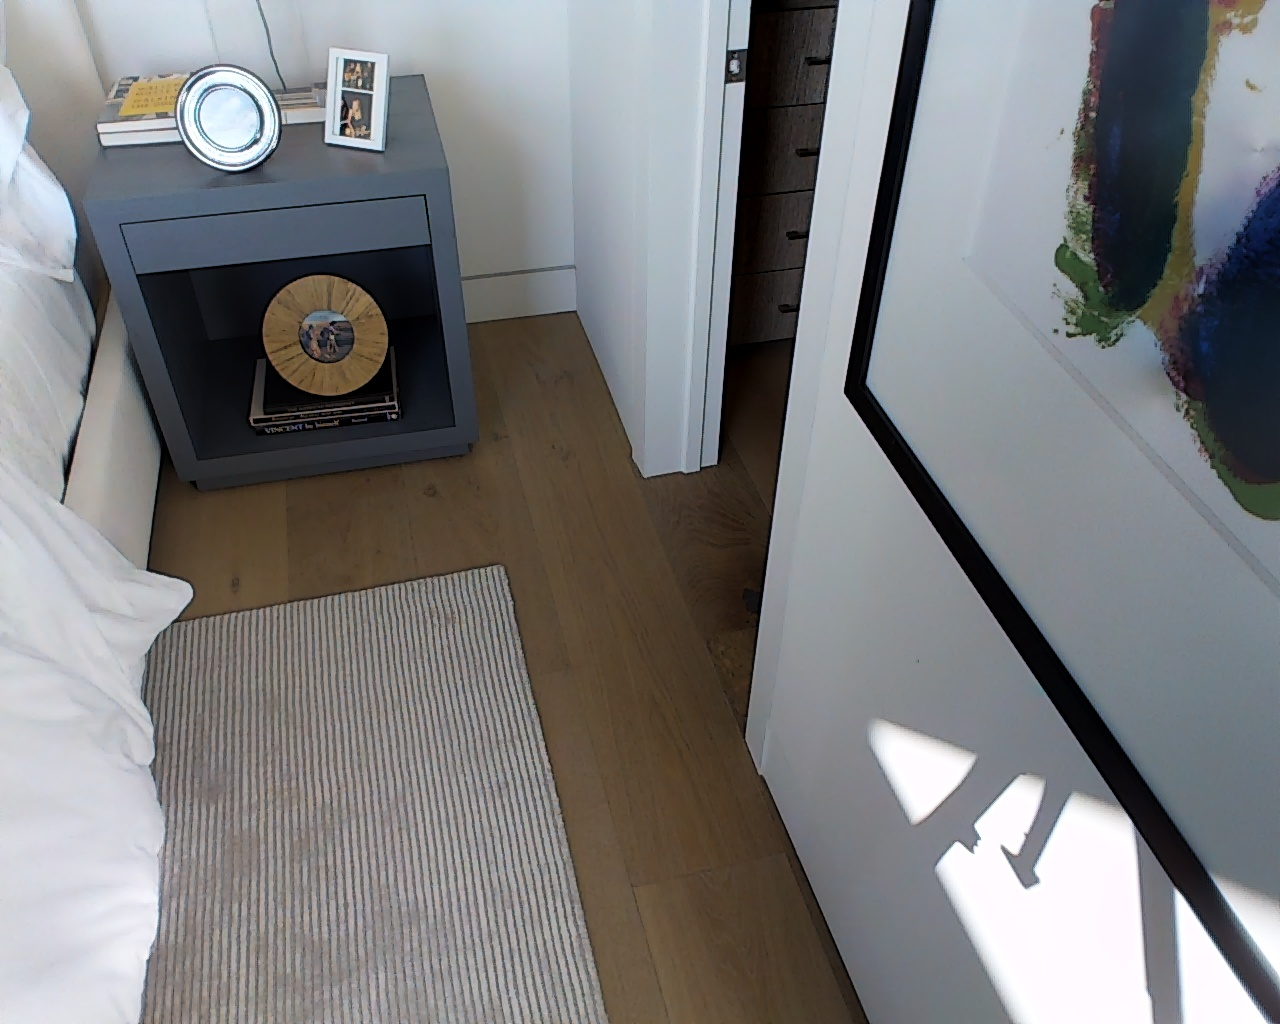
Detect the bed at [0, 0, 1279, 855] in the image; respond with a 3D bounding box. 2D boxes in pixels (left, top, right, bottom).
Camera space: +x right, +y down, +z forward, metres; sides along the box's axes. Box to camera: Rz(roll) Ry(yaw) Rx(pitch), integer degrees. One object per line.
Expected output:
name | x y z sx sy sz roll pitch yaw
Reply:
bed | -0.120 -0.860 2.210 2.370 1.330 2.190 -9 43 -14
